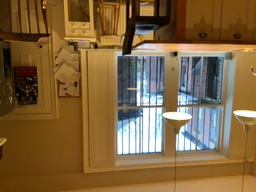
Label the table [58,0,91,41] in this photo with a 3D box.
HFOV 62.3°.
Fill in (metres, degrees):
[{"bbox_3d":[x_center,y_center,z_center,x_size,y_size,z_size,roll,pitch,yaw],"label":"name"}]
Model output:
[{"bbox_3d":[-0.870,-1.310,3.510,0.480,0.730,0.430,-1,-171,-10],"label":"table"}]
